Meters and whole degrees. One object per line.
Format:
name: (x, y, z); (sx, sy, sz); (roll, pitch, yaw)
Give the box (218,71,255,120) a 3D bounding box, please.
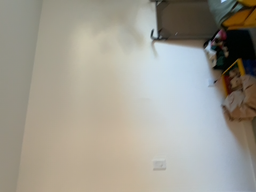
box: (1.230, 0.010, 2.250); (0.410, 0.290, 0.400); (108, 161, -69)
